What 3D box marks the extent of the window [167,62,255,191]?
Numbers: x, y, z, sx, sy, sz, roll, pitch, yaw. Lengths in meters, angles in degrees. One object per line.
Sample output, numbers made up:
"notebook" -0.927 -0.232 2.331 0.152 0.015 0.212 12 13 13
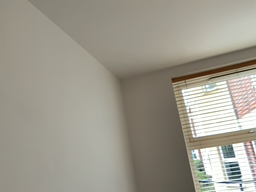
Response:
"window" 1.070 0.370 1.780 1.230 1.310 0.070 -13 -15 14
